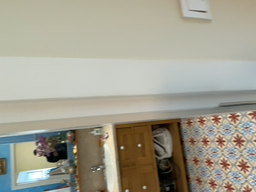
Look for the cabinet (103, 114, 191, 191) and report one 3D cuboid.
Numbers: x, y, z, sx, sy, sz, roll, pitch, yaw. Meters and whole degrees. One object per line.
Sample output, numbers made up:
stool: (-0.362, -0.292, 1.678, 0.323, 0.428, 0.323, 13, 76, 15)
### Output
cabinet: (0.190, 0.690, 2.460, 0.470, 0.800, 0.860, 153, 112, -66)
